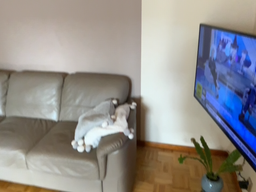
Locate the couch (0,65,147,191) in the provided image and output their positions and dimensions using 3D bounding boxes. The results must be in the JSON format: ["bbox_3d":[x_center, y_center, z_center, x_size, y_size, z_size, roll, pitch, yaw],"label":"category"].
[{"bbox_3d":[-1.050,0.250,2.150,2.340,0.860,0.910,5,24,12],"label":"couch"}]
